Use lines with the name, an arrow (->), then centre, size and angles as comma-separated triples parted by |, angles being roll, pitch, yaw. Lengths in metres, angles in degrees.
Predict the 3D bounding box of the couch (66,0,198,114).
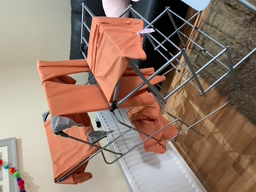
couch -> -0.060, -0.720, 2.140 | 0.850, 0.900, 1.500 | 57, 144, 41
